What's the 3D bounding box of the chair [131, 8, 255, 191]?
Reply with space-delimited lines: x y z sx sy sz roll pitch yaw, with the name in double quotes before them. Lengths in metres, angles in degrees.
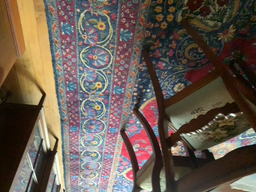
"chair" 0.400 0.090 1.060 0.470 0.880 0.540 -34 127 25
